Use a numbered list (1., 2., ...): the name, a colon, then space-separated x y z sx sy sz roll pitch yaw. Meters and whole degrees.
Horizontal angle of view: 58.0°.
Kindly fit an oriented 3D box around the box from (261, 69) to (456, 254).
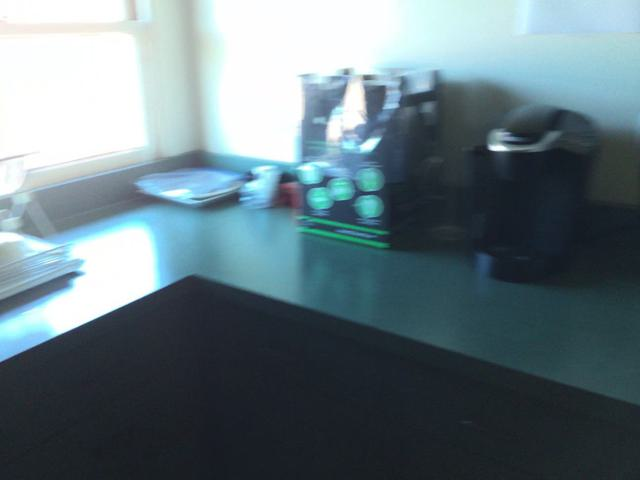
1. box: 0.100 -0.220 1.450 0.360 0.390 0.310 10 20 34
